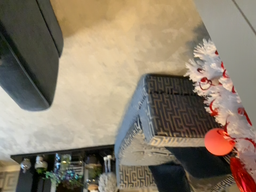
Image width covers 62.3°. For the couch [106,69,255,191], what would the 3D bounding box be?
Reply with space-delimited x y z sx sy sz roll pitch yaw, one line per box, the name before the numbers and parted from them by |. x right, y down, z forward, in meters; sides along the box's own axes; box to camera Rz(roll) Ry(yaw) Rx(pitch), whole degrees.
couch | 0.430 0.520 2.080 1.080 0.730 1.360 4 144 -14

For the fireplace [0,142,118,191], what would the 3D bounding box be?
fireplace | -0.820 1.290 2.620 1.360 1.110 0.630 -6 145 0
